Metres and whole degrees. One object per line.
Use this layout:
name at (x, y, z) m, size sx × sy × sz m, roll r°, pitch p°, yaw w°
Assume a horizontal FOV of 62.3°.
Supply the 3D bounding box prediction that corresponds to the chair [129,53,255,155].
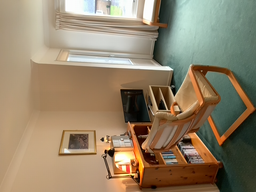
chair at (0.600, 0.100, 2.350) m, size 0.760 × 0.960 × 0.770 m, roll 105°, pitch 161°, yaw -48°

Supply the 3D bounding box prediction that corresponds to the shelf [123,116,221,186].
shelf at (0.500, 0.660, 2.830) m, size 0.960 × 0.950 × 0.330 m, roll -114°, pitch 27°, yaw -62°
